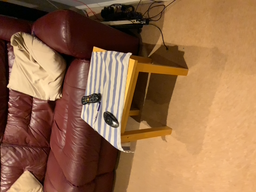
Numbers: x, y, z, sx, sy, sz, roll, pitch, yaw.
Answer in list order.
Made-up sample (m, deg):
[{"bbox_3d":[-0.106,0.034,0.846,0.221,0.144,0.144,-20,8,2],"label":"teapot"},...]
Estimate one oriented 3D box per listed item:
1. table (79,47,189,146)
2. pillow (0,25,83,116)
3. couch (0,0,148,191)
[{"bbox_3d":[0.030,-0.020,1.250,0.370,0.450,0.440,20,104,47],"label":"table"},{"bbox_3d":[-0.660,-0.190,1.520,0.150,0.500,0.470,22,134,65],"label":"pillow"},{"bbox_3d":[-0.730,0.460,1.740,1.090,0.920,2.130,20,104,47],"label":"couch"}]
